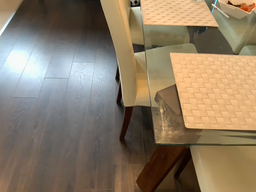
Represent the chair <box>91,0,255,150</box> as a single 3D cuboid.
[{"bbox_3d":[0.140,-0.170,1.160,0.590,0.990,0.470,-2,49,-5],"label":"chair"}]
